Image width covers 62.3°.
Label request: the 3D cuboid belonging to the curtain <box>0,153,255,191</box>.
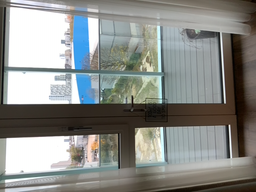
[{"bbox_3d":[-0.080,0.740,1.460,0.280,2.550,0.480,171,99,-74],"label":"curtain"}]
